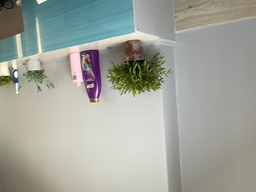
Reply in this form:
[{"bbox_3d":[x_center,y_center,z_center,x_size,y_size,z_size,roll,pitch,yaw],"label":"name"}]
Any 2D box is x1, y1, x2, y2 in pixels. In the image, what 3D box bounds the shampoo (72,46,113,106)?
[{"bbox_3d":[-0.190,-0.100,1.130,0.200,0.300,0.060,0,-173,33],"label":"shampoo"}]
